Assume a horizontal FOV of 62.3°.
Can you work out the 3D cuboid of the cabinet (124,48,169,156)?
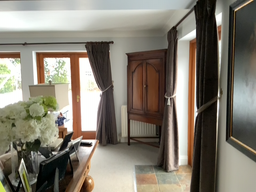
[{"bbox_3d":[0.320,0.090,4.030,0.720,1.880,0.730,-1,6,-3],"label":"cabinet"}]

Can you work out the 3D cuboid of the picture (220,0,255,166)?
[{"bbox_3d":[0.730,-0.110,1.170,0.050,0.990,0.910,-1,6,2],"label":"picture"}]
